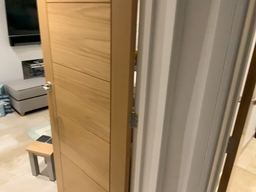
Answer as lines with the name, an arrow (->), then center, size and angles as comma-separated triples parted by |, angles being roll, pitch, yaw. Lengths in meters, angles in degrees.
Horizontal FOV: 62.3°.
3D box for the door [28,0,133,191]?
door -> -0.310, 0.030, 1.250 | 0.750, 2.110, 0.070 | 21, 28, 37
